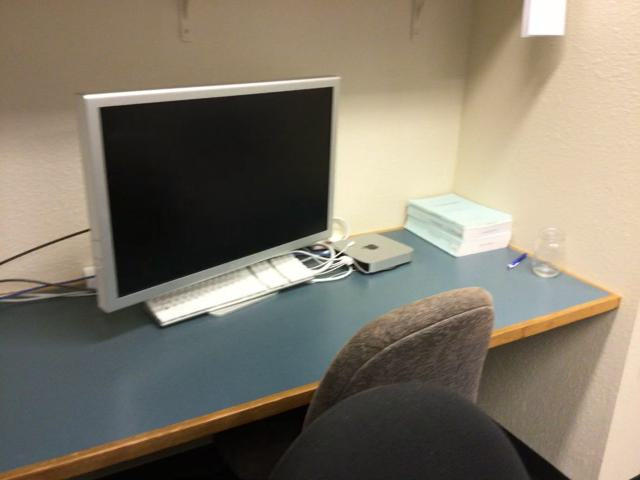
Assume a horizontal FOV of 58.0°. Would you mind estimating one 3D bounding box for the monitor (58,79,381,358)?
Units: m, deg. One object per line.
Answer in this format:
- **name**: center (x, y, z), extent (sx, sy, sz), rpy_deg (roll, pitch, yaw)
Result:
- **monitor**: center (-0.220, -0.100, 1.410), extent (0.670, 0.540, 0.310), rpy_deg (-10, 17, -27)
